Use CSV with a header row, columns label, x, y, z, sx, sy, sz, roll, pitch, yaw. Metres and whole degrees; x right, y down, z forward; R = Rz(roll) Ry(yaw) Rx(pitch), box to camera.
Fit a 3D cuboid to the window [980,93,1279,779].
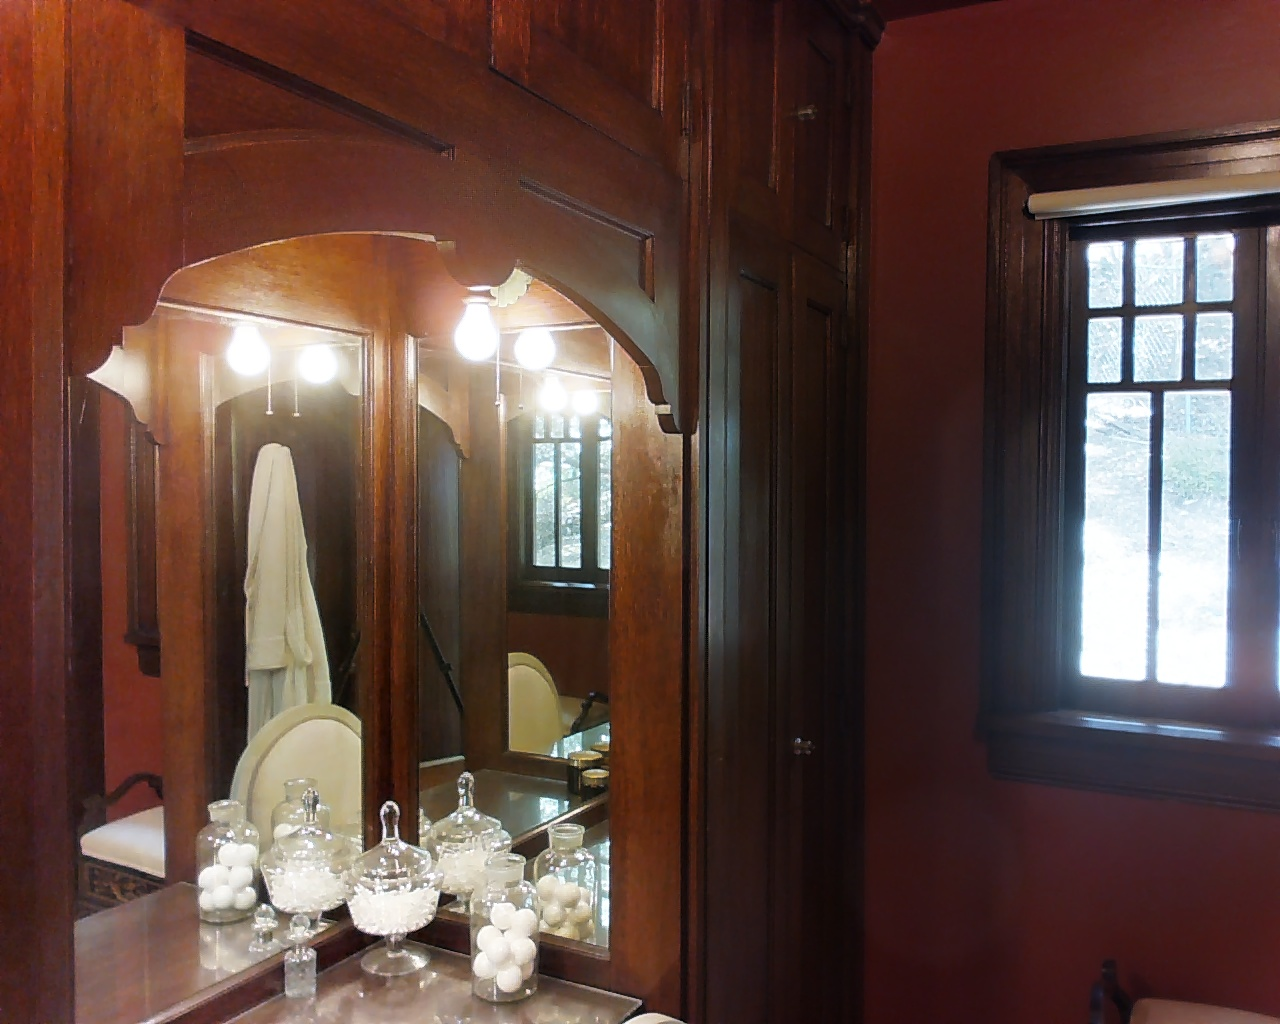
label,x,y,z,sx,sy,sz,roll,pitch,yaw
window,1.200,-0.140,2.100,0.990,1.270,0.200,1,1,29
